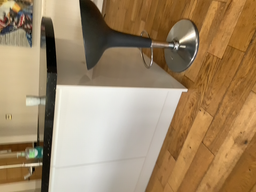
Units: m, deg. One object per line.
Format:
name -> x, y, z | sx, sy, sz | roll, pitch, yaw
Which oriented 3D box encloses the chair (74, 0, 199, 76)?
chair -> 0.050, -0.380, 1.400 | 0.340, 0.720, 0.360 | 152, 116, -61
